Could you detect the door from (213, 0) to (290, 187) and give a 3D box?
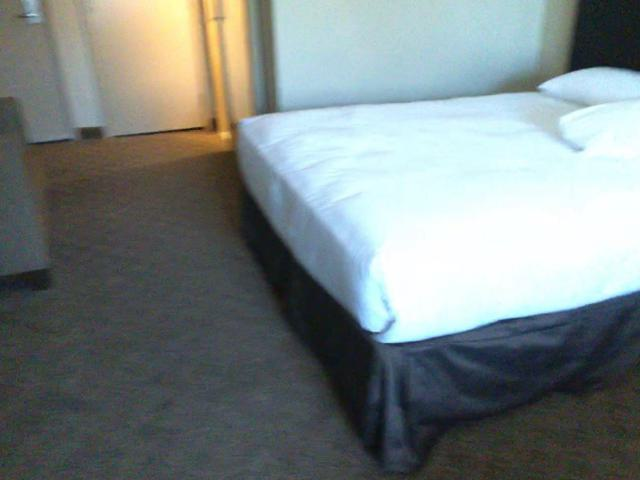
[{"bbox_3d":[-0.450,-1.420,3.490,0.200,1.950,1.010,-9,28,-18],"label":"door"}]

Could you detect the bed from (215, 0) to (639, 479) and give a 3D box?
[{"bbox_3d":[0.800,-0.490,2.280,2.050,1.480,1.720,-9,28,-18],"label":"bed"}]

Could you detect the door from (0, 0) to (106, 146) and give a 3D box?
[{"bbox_3d":[-2.200,-1.680,3.900,1.100,2.050,0.250,-9,28,-18],"label":"door"}]
